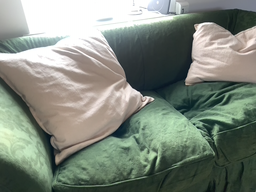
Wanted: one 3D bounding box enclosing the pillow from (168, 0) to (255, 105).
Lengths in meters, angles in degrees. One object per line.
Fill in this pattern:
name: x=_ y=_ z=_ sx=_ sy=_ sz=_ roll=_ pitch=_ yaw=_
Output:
pillow: x=0.580 y=-0.250 z=1.300 sx=0.500 sy=0.450 sz=0.210 roll=57 pitch=41 yaw=-19
